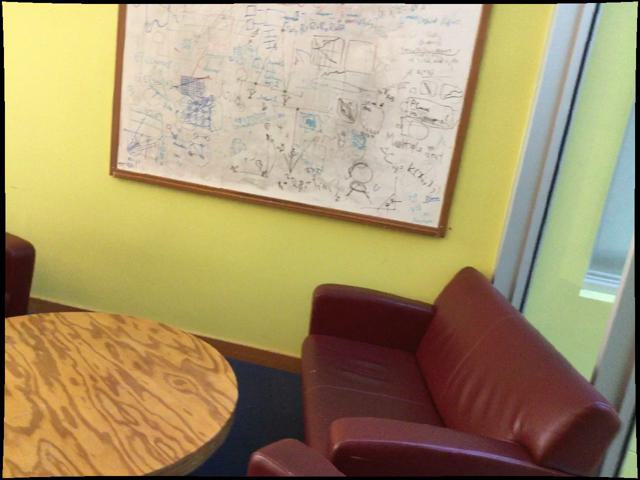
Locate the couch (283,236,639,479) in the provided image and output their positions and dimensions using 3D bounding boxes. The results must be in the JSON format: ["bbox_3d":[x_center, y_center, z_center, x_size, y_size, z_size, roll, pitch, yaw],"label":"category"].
[{"bbox_3d":[0.370,0.591,2.320,0.969,0.741,1.390,5,18,-5],"label":"couch"}]
